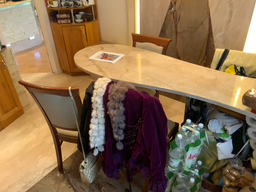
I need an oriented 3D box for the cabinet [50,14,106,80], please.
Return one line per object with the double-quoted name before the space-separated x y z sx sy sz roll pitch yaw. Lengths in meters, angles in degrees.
"cabinet" -0.800 -0.830 3.530 0.560 0.850 0.550 22 41 32
